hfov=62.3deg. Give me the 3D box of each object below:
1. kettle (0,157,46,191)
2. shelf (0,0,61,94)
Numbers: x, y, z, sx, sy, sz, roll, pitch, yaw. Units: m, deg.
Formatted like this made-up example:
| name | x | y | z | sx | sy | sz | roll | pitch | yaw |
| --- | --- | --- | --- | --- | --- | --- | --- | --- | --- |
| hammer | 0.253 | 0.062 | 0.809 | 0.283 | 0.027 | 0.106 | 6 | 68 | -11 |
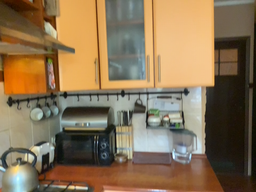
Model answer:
| name | x | y | z | sx | sy | sz | roll | pitch | yaw |
| --- | --- | --- | --- | --- | --- | --- | --- | --- | --- |
| kettle | -0.640 | 0.480 | 1.240 | 0.250 | 0.180 | 0.150 | 0 | 5 | 15 |
| shelf | -0.620 | -0.530 | 1.320 | 0.300 | 1.020 | 0.150 | 0 | 5 | 11 |
